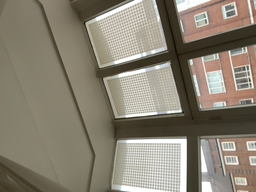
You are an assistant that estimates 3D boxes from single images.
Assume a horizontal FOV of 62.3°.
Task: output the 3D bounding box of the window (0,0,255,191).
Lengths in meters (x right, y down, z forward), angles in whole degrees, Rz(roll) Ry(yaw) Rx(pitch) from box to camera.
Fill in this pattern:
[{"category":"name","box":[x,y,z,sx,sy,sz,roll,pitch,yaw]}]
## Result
[{"category":"window","box":[0.360,-0.170,0.990,1.200,2.540,2.240,-29,-74,-56]}]
